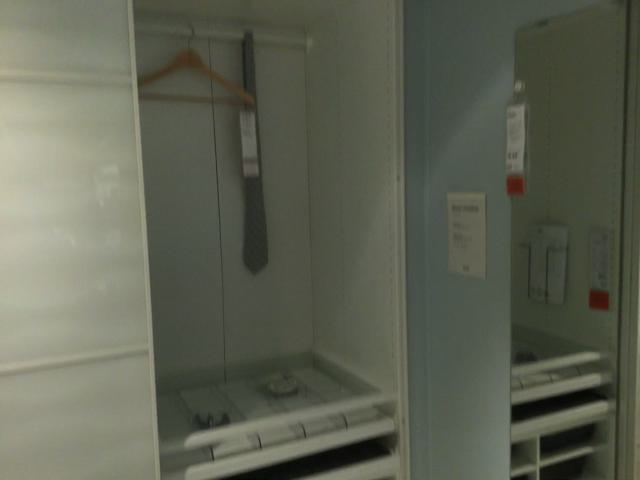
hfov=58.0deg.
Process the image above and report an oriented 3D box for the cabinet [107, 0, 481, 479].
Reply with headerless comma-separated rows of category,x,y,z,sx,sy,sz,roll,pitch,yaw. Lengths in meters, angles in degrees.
cabinet,-0.180,0.220,1.720,0.710,2.350,0.660,3,10,-26
